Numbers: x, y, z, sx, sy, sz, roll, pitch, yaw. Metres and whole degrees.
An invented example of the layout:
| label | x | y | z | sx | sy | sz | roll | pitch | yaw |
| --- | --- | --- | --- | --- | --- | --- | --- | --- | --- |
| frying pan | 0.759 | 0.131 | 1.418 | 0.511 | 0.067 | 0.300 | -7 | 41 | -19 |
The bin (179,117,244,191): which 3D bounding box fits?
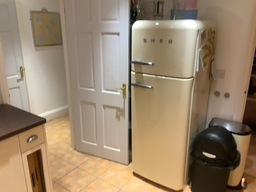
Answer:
| label | x | y | z | sx | sy | sz | roll | pitch | yaw |
| --- | --- | --- | --- | --- | --- | --- | --- | --- | --- |
| bin | 0.800 | 0.630 | 2.060 | 0.440 | 0.690 | 0.320 | 13 | 21 | 32 |
